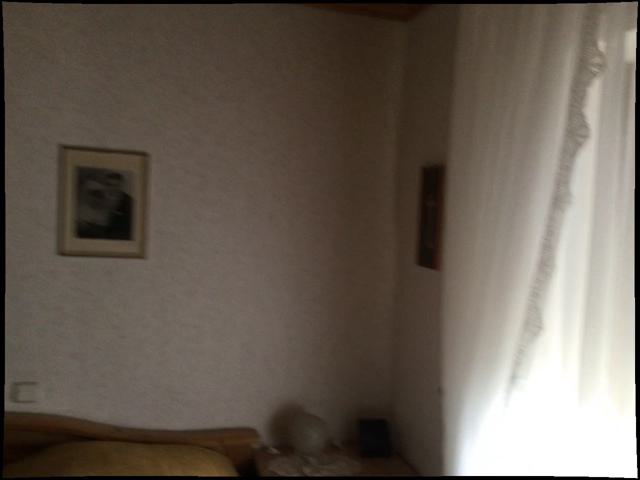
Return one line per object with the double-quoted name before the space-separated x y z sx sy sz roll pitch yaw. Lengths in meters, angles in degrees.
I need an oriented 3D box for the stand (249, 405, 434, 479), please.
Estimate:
"stand" 0.060 1.001 2.380 0.629 0.420 0.490 0 6 -16
